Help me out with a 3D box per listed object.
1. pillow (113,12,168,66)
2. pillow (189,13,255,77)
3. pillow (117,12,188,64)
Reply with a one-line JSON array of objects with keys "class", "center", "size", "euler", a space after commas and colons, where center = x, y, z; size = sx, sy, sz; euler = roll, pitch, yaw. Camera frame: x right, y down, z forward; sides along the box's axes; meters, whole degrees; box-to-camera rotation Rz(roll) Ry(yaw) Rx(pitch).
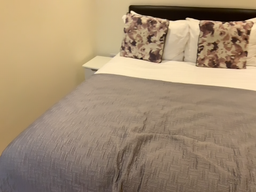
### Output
[{"class": "pillow", "center": [0.110, -0.550, 2.030], "size": [0.430, 0.380, 0.170], "euler": [19, 30, 13]}, {"class": "pillow", "center": [0.810, -0.440, 1.830], "size": [0.420, 0.420, 0.150], "euler": [18, 30, 8]}, {"class": "pillow", "center": [0.270, -0.640, 2.230], "size": [0.620, 0.380, 0.560], "euler": [9, 28, 15]}]
